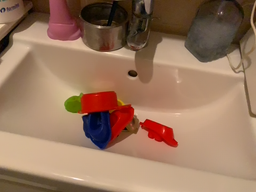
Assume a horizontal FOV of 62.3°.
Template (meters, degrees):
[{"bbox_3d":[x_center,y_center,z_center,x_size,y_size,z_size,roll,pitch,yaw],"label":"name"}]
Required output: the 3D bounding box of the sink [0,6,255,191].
[{"bbox_3d":[0.000,0.020,0.480,0.590,0.170,0.420,11,48,3],"label":"sink"}]
